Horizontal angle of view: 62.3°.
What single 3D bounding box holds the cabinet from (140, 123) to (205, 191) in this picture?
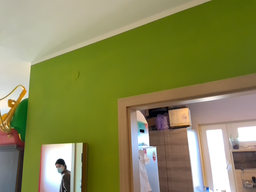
[{"bbox_3d":[0.700,1.510,3.130,0.710,2.110,0.670,-10,-16,29],"label":"cabinet"}]
